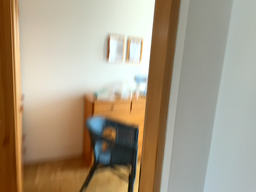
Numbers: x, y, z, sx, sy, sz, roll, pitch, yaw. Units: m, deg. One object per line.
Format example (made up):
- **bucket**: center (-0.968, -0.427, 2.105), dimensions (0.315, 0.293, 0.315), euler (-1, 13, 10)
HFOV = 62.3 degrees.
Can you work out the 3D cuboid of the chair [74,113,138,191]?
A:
- **chair**: center (-0.220, 0.660, 2.410), dimensions (0.580, 0.760, 0.600), euler (5, 11, 4)
